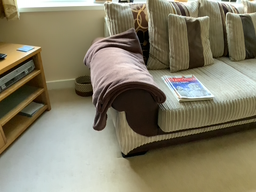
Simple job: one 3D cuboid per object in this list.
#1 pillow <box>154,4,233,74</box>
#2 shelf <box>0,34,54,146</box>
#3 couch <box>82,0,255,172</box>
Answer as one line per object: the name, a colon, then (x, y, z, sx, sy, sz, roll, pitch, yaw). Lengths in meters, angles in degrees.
pillow: (0.490, -0.440, 1.660, 0.470, 0.390, 0.200, -20, 57, -19)
shelf: (-0.980, -0.090, 1.550, 0.550, 0.540, 0.570, 10, 33, 10)
couch: (0.770, -0.340, 1.800, 2.100, 0.860, 1.170, -7, 34, -16)
